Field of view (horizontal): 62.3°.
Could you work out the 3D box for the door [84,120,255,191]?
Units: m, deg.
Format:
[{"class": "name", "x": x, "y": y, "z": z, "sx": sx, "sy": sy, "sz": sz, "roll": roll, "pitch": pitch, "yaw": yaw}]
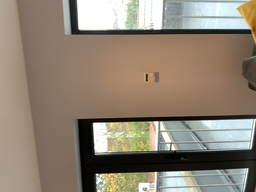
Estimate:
[{"class": "door", "x": 0.470, "y": 0.770, "z": 2.250, "sx": 0.090, "sy": 1.800, "sz": 1.020, "roll": -102, "pitch": 12, "yaw": -76}]
